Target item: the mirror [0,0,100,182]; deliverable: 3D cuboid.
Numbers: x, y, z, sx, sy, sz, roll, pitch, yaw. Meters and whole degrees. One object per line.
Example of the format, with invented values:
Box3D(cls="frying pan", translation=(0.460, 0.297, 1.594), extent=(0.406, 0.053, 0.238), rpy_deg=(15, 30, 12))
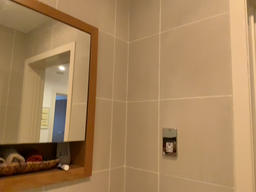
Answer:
Box3D(cls="mirror", translation=(-0.380, -0.020, 0.950), extent=(0.050, 0.710, 0.580), rpy_deg=(-5, -9, 42))
